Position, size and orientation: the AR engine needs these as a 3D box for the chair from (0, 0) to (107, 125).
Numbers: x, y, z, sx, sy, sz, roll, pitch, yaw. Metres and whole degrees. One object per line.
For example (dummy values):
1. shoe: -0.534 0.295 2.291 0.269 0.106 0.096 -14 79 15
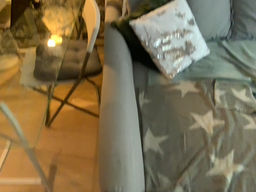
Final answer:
1. chair: -0.460 -0.230 1.480 0.560 0.740 0.470 -3 46 -3

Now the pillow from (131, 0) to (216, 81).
1. pillow: 0.320 -0.380 1.390 0.180 0.480 0.480 37 15 26

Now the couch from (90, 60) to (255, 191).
1. couch: 0.320 0.290 1.070 0.880 0.660 0.650 -1 46 -1
